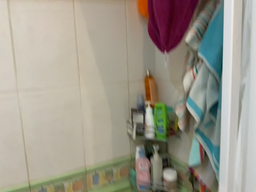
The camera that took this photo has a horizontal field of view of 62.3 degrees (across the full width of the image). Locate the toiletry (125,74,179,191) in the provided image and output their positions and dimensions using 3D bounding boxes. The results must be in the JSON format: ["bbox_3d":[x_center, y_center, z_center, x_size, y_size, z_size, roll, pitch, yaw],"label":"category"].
[{"bbox_3d":[0.140,0.240,1.130,0.240,0.700,0.160,1,10,19],"label":"toiletry"}]
